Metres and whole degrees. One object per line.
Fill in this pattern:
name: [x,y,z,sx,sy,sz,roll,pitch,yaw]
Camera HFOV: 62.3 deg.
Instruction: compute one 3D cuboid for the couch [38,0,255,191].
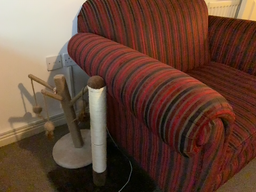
couch: [0.380,-0.130,1.310,1.390,0.840,1.000,-20,40,-33]
